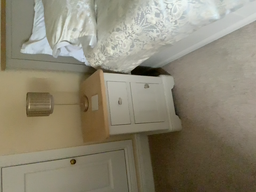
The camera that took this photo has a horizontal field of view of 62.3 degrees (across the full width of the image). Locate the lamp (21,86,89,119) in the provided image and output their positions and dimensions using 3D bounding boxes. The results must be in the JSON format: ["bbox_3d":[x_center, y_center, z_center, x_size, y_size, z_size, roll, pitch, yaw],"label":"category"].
[{"bbox_3d":[-0.520,0.050,1.510,0.260,0.400,0.170,-22,72,55],"label":"lamp"}]

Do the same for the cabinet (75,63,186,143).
[{"bbox_3d":[0.000,0.080,1.680,0.490,0.670,0.490,-22,72,55],"label":"cabinet"}]
